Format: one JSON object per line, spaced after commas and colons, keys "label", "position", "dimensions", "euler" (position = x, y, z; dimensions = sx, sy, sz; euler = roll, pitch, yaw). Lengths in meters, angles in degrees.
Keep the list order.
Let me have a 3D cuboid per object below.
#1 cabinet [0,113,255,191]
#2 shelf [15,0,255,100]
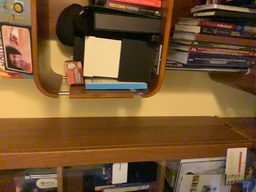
{"label": "cabinet", "position": [-0.110, 0.570, 1.020], "dimensions": [0.340, 1.150, 0.900], "euler": [-128, 41, -69]}
{"label": "shelf", "position": [0.470, -0.410, 0.840], "dimensions": [0.360, 1.600, 0.780], "euler": [-128, 41, -69]}
